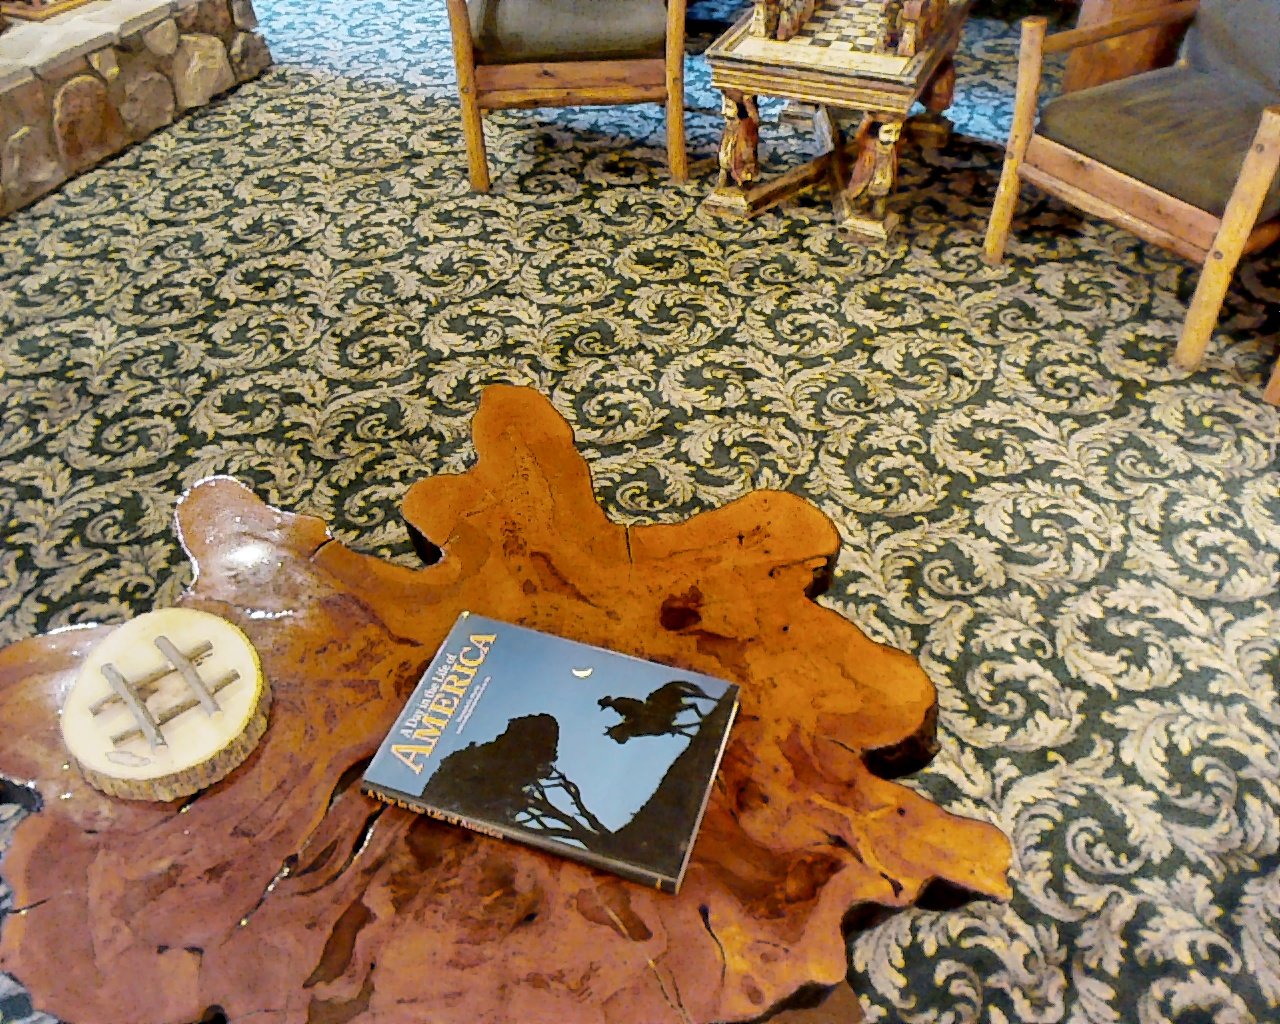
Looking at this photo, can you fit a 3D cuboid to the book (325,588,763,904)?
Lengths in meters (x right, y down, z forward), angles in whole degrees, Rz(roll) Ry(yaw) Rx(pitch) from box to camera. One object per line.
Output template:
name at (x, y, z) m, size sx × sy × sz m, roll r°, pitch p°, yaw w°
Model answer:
book at (-0.100, 0.250, 1.250) m, size 0.420 × 0.030 × 0.300 m, roll 13°, pitch 44°, yaw 14°
